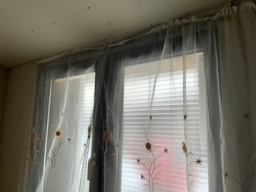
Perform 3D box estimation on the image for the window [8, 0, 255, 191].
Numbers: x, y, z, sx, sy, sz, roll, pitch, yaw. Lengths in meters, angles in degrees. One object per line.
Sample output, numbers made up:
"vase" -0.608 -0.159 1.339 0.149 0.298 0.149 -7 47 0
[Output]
"window" -0.180 0.370 1.210 1.780 1.420 0.060 -5 -10 35
